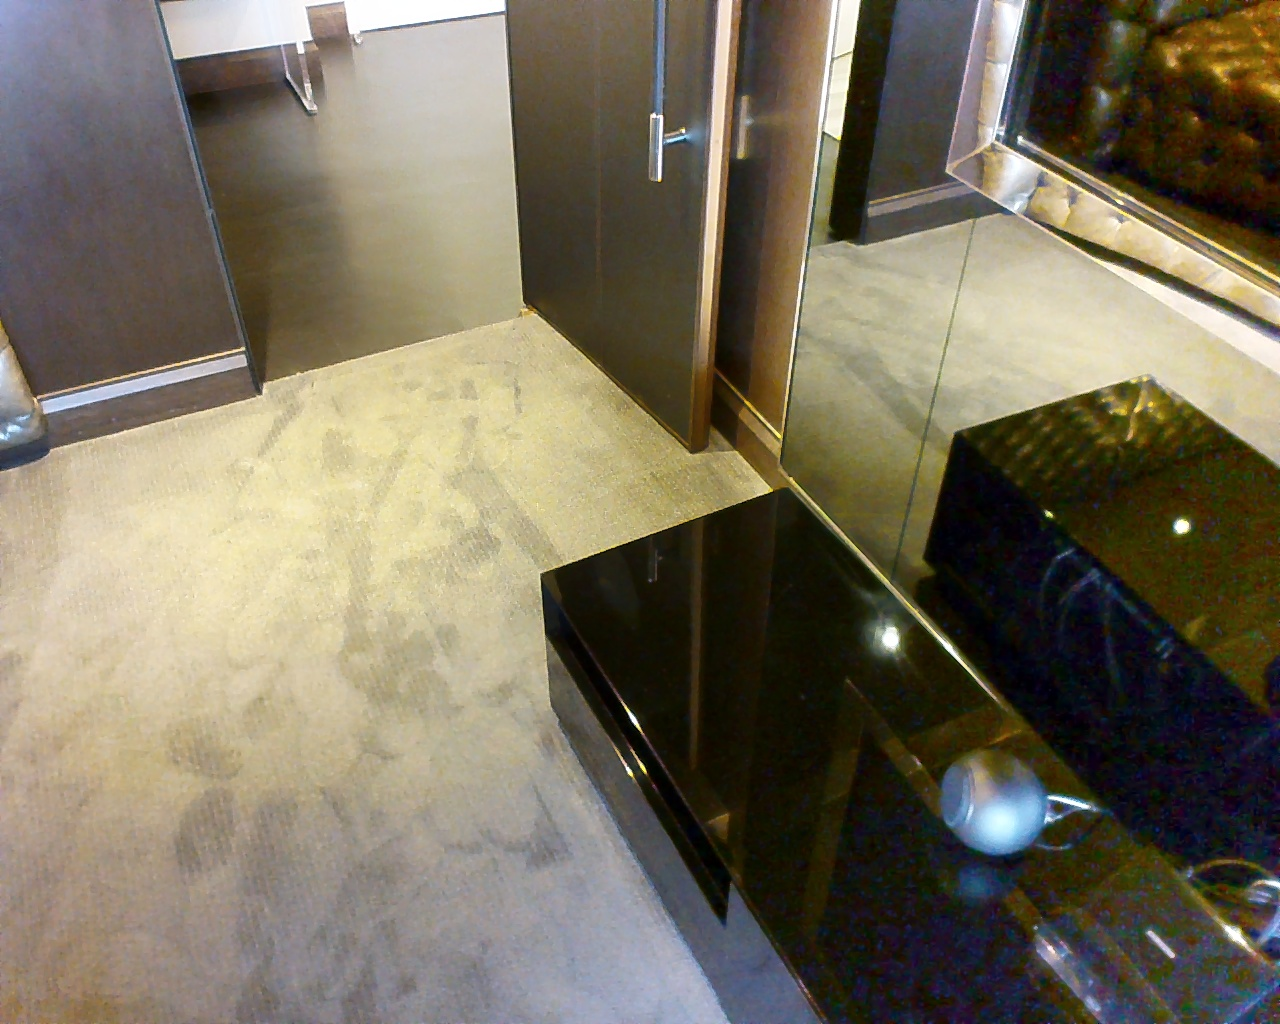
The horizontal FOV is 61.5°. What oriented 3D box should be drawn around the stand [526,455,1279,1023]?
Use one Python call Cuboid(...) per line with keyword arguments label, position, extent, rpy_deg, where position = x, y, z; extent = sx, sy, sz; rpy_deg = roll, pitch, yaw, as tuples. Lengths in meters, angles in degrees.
Cuboid(label="stand", position=(0.540, 0.690, 1.360), extent=(0.700, 0.380, 1.880), rpy_deg=(-17, 44, -20))
